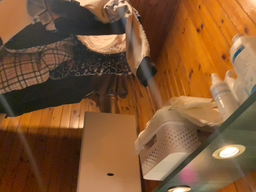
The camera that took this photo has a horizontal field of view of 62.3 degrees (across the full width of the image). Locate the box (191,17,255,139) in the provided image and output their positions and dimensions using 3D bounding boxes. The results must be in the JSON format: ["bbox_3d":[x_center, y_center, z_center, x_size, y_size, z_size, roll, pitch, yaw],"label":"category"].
[{"bbox_3d":[0.370,-0.040,0.590,0.270,0.240,0.220,3,-40,-8],"label":"box"}]
